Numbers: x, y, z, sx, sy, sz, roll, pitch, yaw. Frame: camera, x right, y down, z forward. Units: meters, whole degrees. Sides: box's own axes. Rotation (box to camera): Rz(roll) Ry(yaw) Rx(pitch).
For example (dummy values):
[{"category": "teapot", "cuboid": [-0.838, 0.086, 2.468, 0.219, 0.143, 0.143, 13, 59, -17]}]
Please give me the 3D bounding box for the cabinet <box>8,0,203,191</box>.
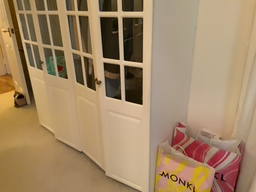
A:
[{"category": "cabinet", "cuboid": [-0.300, -0.540, 1.650, 1.560, 2.190, 0.530, 20, 32, 38]}]
